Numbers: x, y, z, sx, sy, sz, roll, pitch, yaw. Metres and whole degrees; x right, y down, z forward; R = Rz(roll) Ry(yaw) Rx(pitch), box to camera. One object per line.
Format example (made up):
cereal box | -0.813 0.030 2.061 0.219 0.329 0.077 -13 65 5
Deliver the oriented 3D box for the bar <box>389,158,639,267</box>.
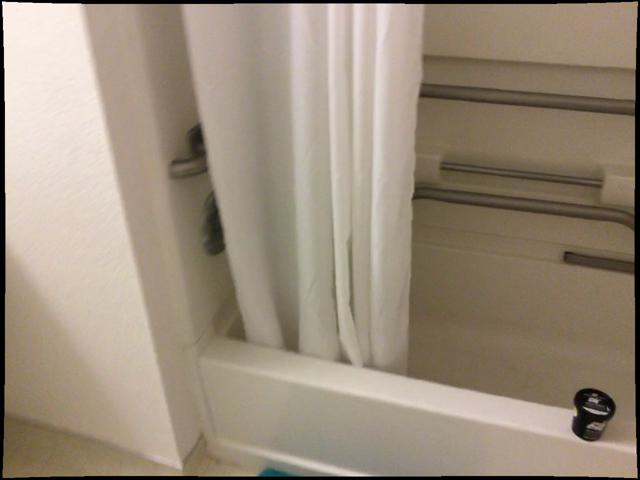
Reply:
bar | 0.589 -0.090 1.730 0.739 0.160 0.150 10 36 14

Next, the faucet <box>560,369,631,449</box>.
faucet | 0.599 0.370 1.270 0.110 0.110 0.100 10 36 14
